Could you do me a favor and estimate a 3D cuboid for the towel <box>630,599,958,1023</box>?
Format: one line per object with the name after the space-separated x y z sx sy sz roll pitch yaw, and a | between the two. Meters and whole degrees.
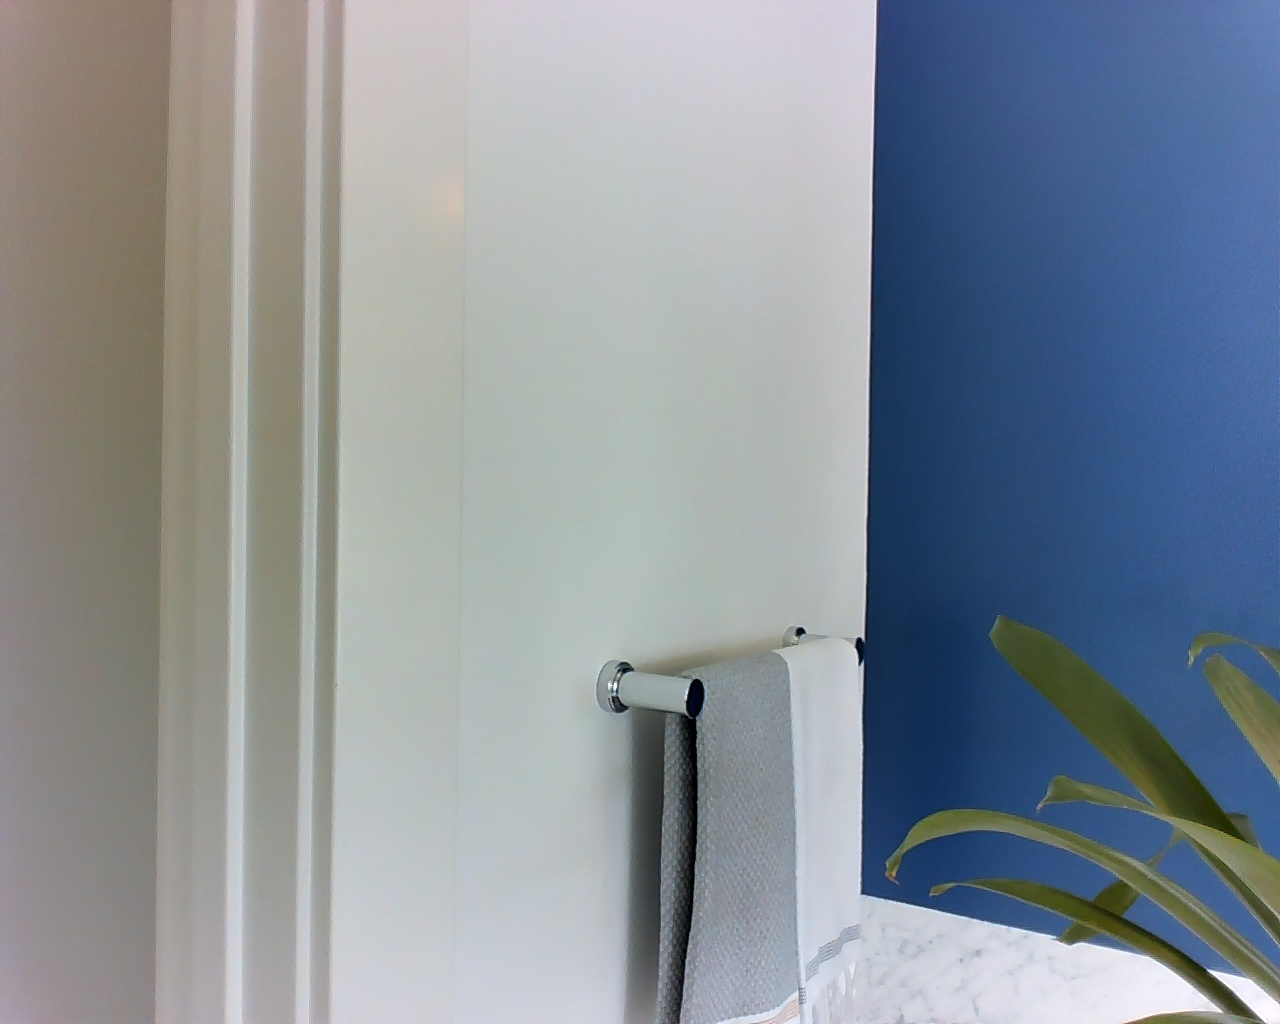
0.160 0.330 0.960 0.100 0.470 0.450 1 0 34 | towel
